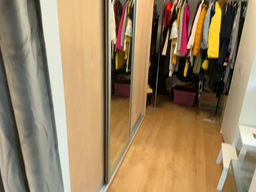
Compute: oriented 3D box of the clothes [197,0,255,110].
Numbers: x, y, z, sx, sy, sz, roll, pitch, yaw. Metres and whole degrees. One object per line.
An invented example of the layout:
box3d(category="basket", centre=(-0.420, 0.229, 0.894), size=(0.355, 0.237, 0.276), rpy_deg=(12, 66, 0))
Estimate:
box3d(category="clothes", centre=(1.460, -0.690, 3.080), size=(0.540, 1.490, 0.880), rpy_deg=(11, 23, 22))
